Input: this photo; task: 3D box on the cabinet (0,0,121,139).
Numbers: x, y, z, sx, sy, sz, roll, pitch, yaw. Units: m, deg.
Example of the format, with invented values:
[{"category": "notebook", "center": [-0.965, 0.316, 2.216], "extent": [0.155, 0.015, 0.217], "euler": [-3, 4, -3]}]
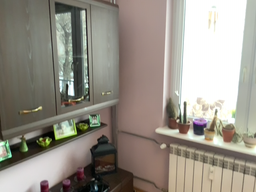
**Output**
[{"category": "cabinet", "center": [-0.550, -0.320, 1.640], "extent": [0.420, 0.910, 1.110], "euler": [7, 13, 33]}]

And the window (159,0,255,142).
[{"category": "window", "center": [0.710, -0.350, 1.940], "extent": [0.820, 1.410, 0.140], "euler": [7, 13, 32]}]
